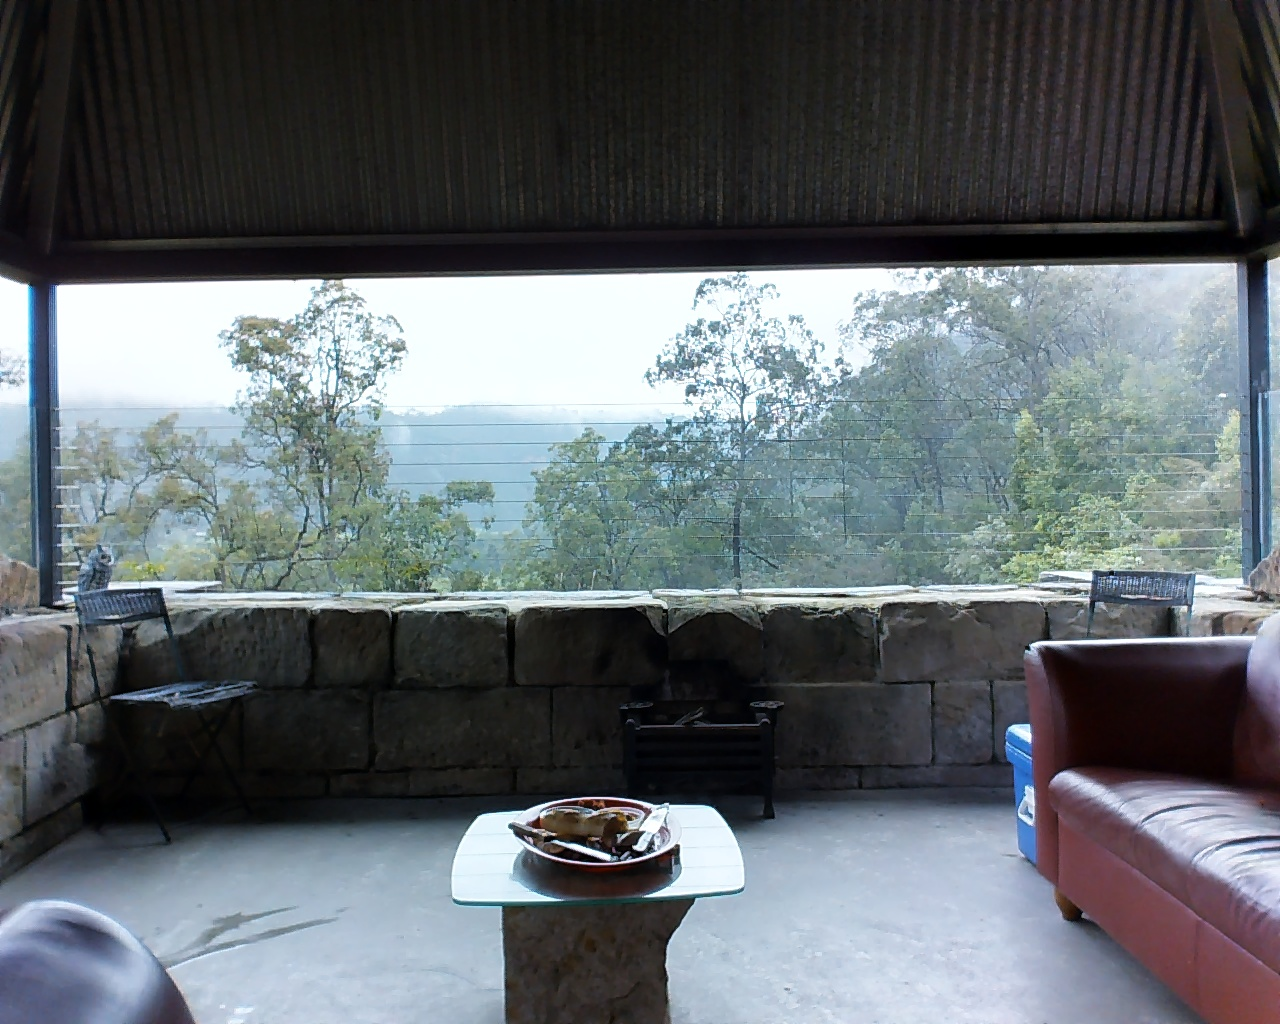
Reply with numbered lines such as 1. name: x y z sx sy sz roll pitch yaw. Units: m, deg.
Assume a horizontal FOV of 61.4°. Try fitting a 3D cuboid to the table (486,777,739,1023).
1. table: -0.070 0.880 2.330 0.490 0.480 0.490 0 1 -5
